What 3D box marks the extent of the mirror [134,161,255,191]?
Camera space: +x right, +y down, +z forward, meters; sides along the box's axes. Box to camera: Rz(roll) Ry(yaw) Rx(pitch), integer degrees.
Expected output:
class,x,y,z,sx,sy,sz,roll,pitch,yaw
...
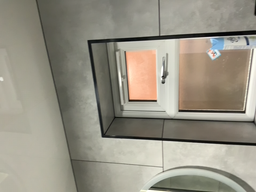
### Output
class,x,y,z,sx,sy,sz,roll,pitch,yaw
mirror,0.340,0.610,1.130,0.050,0.580,0.560,-62,-30,-64
